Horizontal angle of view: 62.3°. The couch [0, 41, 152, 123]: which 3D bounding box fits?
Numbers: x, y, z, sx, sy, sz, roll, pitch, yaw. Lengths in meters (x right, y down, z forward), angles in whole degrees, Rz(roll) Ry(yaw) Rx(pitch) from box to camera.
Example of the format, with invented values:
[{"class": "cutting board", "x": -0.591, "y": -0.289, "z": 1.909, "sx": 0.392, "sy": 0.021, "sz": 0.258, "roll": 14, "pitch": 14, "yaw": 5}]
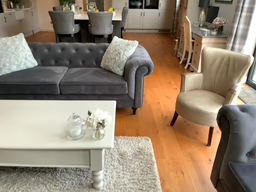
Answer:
[{"class": "couch", "x": -0.890, "y": -0.230, "z": 2.850, "sx": 2.260, "sy": 0.760, "sz": 0.930, "roll": 1, "pitch": 26, "yaw": -3}]
